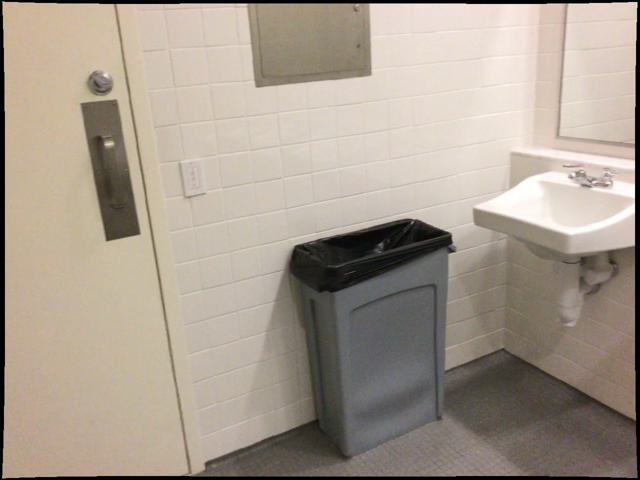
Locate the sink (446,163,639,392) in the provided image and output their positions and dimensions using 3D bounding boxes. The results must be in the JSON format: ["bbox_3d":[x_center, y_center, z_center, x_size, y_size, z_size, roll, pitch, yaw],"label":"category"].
[{"bbox_3d":[0.828,0.090,2.060,0.469,0.581,0.540,-11,22,-25],"label":"sink"}]
